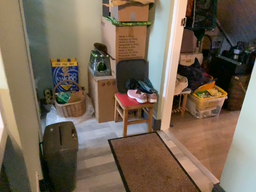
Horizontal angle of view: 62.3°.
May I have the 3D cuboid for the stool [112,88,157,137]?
[{"bbox_3d":[0.050,0.150,2.080,0.340,0.340,0.310,-6,27,-18],"label":"stool"}]
